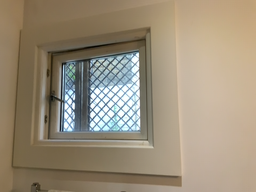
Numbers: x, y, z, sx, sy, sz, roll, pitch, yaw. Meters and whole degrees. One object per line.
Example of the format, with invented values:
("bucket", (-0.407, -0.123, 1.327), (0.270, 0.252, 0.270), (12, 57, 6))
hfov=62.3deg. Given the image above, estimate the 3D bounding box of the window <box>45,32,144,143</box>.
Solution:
("window", (-0.210, -0.040, 1.260), (0.610, 0.610, 0.050), (-3, -8, 18))
